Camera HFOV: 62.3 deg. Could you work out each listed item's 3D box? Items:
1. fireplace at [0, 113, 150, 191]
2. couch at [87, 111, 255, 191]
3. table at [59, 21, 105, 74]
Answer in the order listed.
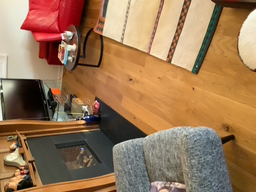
[{"bbox_3d":[-0.750,0.710,2.400,1.410,1.350,0.420,31,116,50],"label":"fireplace"},{"bbox_3d":[0.300,0.570,1.430,0.790,0.800,0.730,-27,70,52],"label":"couch"},{"bbox_3d":[-0.710,-0.730,3.170,0.640,0.400,0.660,30,115,50],"label":"table"}]
